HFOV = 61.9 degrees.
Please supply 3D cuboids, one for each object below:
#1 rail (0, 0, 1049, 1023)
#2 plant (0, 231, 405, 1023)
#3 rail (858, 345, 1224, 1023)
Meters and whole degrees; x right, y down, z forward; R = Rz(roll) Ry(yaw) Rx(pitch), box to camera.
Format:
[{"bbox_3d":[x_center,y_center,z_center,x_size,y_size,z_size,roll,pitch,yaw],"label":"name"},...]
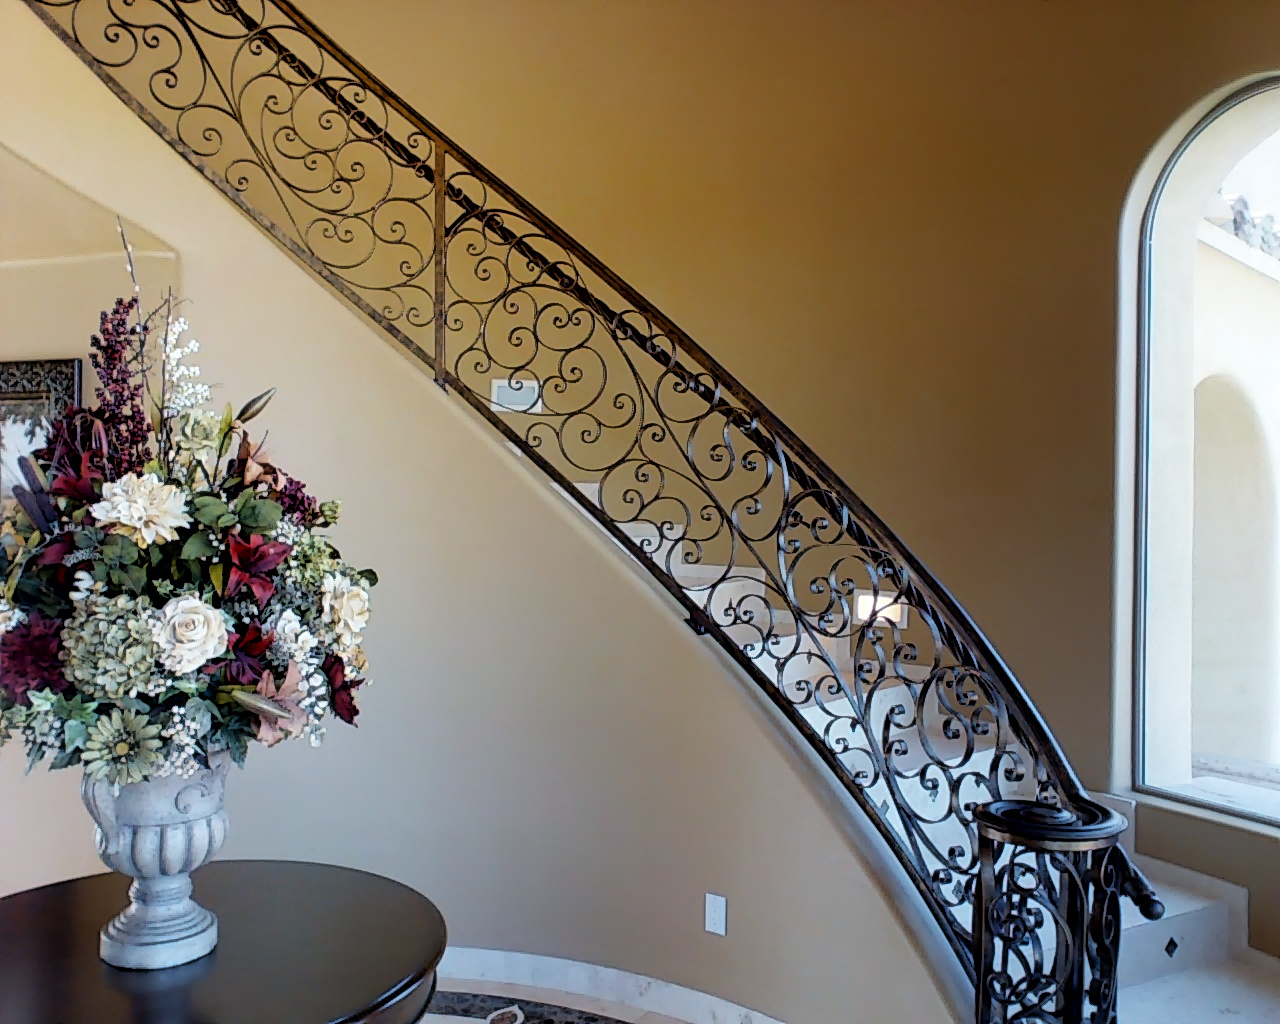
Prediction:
[{"bbox_3d":[-0.790,-0.780,2.930,3.330,4.640,1.330,1,-1,-6],"label":"rail"},{"bbox_3d":[-0.880,0.190,1.960,0.780,1.190,0.790,1,-1,-6],"label":"plant"},{"bbox_3d":[0.860,0.620,2.470,0.460,1.860,0.860,1,-1,-5],"label":"rail"}]
